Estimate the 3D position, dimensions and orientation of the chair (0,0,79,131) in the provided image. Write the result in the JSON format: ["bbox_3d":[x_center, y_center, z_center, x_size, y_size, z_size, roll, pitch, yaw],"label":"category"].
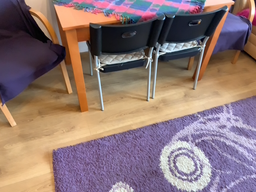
[{"bbox_3d":[-0.830,-0.290,1.600,0.560,0.750,0.590,35,53,26],"label":"chair"}]

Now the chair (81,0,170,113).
[{"bbox_3d":[-0.060,-0.340,1.690,0.470,0.750,0.500,-11,48,-14],"label":"chair"}]

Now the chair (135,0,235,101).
[{"bbox_3d":[0.400,-0.430,1.810,0.480,0.750,0.500,-11,48,-14],"label":"chair"}]
